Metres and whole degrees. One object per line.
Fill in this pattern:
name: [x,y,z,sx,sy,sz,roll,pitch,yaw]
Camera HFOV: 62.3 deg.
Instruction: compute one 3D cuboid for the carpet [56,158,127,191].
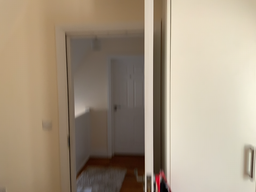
carpet: [-0.500,1.280,3.300,0.750,0.080,1.380,1,5,10]
